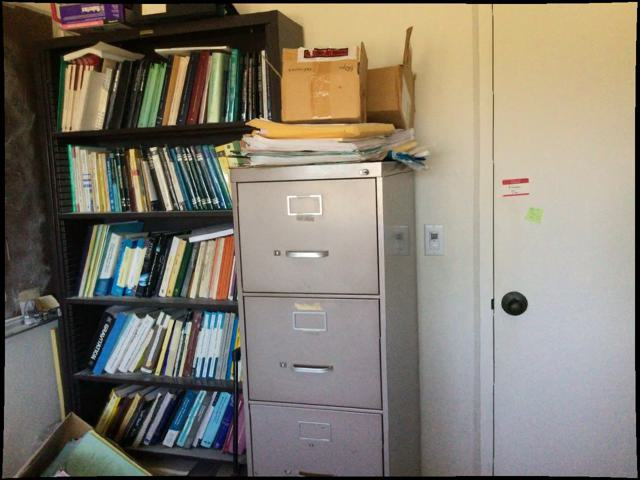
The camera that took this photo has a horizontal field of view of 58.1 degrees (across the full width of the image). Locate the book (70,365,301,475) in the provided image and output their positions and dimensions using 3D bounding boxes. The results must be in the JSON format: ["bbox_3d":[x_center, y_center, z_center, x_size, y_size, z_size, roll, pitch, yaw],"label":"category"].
[{"bbox_3d":[-0.539,0.702,2.320,0.868,0.291,0.260,-2,7,16],"label":"book"}]

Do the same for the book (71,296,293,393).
[{"bbox_3d":[-0.549,0.401,2.310,0.828,0.301,0.250,-2,7,16],"label":"book"}]

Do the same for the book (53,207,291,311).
[{"bbox_3d":[-0.569,0.070,2.250,0.838,0.341,0.300,-2,7,16],"label":"book"}]

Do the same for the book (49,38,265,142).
[{"bbox_3d":[-0.598,-0.531,2.110,0.768,0.281,0.160,-2,7,16],"label":"book"}]

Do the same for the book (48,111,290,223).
[{"bbox_3d":[-0.578,-0.271,2.230,0.868,0.351,0.260,-2,7,16],"label":"book"}]
